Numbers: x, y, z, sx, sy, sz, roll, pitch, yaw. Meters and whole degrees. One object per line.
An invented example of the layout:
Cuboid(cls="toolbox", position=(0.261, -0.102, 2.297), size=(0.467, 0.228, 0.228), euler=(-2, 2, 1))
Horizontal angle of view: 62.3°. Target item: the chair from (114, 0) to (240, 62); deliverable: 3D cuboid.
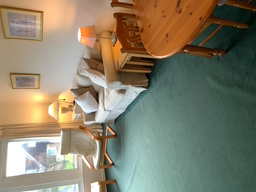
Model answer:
Cuboid(cls="chair", position=(0.390, -0.650, 1.840), size=(0.490, 0.860, 0.450), euler=(132, 133, -56))

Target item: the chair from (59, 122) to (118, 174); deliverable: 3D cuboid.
Cuboid(cls="chair", position=(-0.850, 1.010, 4.390), size=(0.830, 1.000, 0.720), euler=(-159, 71, -64))

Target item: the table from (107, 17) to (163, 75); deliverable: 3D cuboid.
Cuboid(cls="table", position=(0.070, -0.670, 2.940), size=(0.460, 0.540, 0.560), euler=(132, 133, -56))
